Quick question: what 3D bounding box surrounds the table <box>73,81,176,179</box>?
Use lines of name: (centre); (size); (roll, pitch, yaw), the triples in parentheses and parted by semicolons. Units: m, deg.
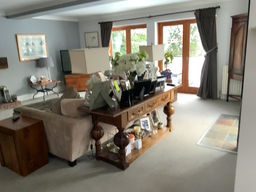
table: (0.100, 0.320, 3.060); (0.540, 0.750, 1.740); (7, 17, 34)

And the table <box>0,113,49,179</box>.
table: (-1.360, 0.590, 2.650); (0.550, 0.610, 0.370); (6, 16, 31)
